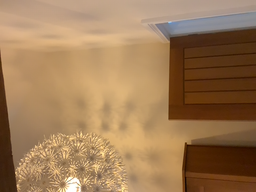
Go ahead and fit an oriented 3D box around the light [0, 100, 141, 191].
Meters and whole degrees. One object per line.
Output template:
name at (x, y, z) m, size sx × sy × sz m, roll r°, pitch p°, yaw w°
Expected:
light at (-0.940, 0.700, 1.910) m, size 1.860 × 1.000 × 1.000 m, roll 7°, pitch -79°, yaw 15°
